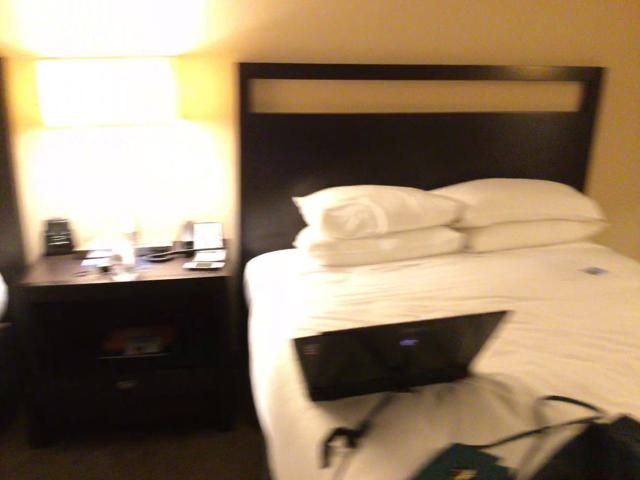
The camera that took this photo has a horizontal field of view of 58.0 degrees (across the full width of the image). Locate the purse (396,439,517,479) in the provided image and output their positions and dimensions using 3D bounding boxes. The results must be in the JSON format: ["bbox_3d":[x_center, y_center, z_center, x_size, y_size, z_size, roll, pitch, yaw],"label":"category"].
[{"bbox_3d":[0.230,0.440,1.020,0.220,0.040,0.130,-12,19,-41],"label":"purse"}]

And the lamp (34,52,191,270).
[{"bbox_3d":[-0.780,-0.310,2.270,0.470,0.790,0.290,-2,14,-8],"label":"lamp"}]
